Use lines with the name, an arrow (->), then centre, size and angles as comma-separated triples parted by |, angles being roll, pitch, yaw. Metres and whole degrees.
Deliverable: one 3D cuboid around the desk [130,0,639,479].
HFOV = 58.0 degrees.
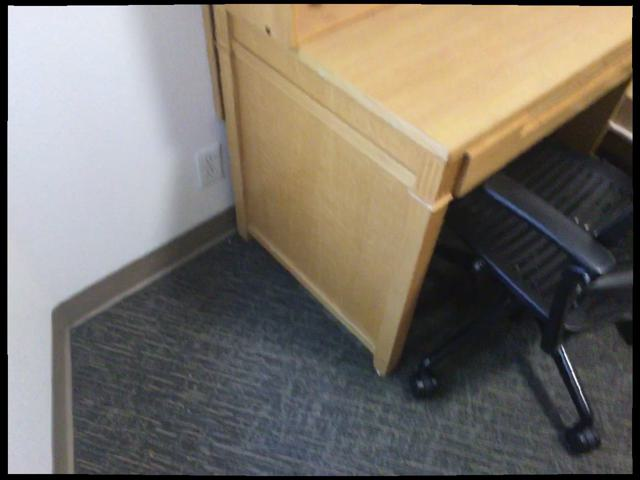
desk -> 0.489, -0.341, 1.540 | 1.349, 0.771, 1.380 | -32, 58, -25
